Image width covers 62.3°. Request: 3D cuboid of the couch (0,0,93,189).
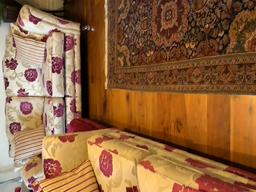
[{"bbox_3d":[-1.140,-0.040,2.900,1.070,0.890,1.990,3,95,54],"label":"couch"}]
